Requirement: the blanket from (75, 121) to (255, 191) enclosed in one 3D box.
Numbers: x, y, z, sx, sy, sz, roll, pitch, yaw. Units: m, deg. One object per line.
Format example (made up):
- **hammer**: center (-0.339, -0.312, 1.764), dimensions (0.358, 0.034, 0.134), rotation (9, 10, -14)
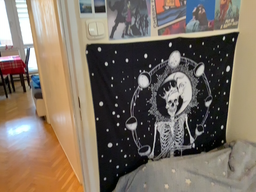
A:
- **blanket**: center (0.300, 0.460, 1.050), dimensions (0.980, 0.300, 0.430), rotation (-12, 21, -28)
